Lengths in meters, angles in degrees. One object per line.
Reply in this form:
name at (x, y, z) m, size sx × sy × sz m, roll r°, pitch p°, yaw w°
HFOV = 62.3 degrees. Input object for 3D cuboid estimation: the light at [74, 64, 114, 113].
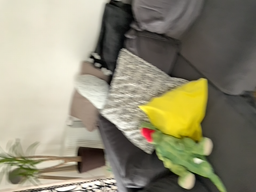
light at (-0.300, -0.060, 1.790) m, size 0.280 × 0.220 × 0.290 m, roll 61°, pitch 140°, yaw 45°

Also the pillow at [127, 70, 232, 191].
pillow at (0.340, 0.240, 1.350) m, size 0.710 × 0.400 × 0.170 m, roll -62°, pitch -2°, yaw -22°

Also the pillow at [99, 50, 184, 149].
pillow at (0.090, 0.030, 1.610) m, size 0.280 × 0.390 × 0.590 m, roll -72°, pitch 6°, yaw -63°
